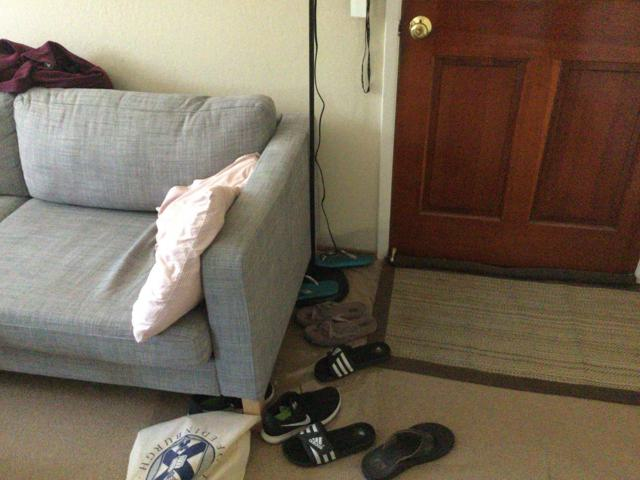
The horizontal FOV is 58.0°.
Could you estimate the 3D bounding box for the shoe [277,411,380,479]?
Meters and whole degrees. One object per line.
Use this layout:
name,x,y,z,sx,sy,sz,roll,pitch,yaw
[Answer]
shoe,0.020,0.550,1.560,0.250,0.050,0.140,-5,32,-12

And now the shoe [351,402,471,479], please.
shoe,0.240,0.550,1.540,0.280,0.090,0.130,-11,34,-22

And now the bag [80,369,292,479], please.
bag,-0.340,0.600,1.460,0.430,0.140,0.550,7,31,7
